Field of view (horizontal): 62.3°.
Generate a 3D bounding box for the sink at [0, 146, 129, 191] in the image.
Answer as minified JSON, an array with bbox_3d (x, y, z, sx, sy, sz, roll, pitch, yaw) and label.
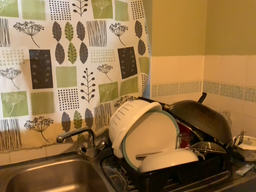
[{"bbox_3d":[-0.250,0.400,0.770,0.440,0.140,0.560,-7,13,-26],"label":"sink"}]
